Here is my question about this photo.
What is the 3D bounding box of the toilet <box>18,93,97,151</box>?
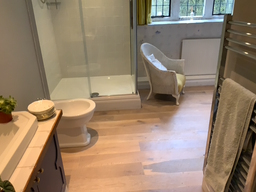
[{"bbox_3d":[-0.670,0.250,2.170,0.640,0.400,0.410,-2,24,-2],"label":"toilet"}]

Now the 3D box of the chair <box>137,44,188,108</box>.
[{"bbox_3d":[0.500,-0.320,3.070,0.570,0.720,0.610,8,26,20],"label":"chair"}]
